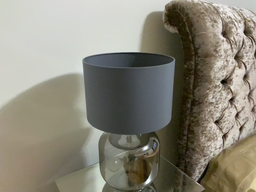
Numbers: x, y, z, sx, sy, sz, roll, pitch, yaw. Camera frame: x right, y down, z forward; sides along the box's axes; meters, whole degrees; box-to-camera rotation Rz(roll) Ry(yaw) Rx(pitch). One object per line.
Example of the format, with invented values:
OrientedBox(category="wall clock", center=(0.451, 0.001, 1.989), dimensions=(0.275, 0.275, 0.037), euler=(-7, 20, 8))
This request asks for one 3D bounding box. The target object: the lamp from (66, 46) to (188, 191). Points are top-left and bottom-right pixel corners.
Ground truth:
OrientedBox(category="lamp", center=(-0.020, 0.110, 0.820), dimensions=(0.270, 0.540, 0.340), euler=(-14, 24, -33))
